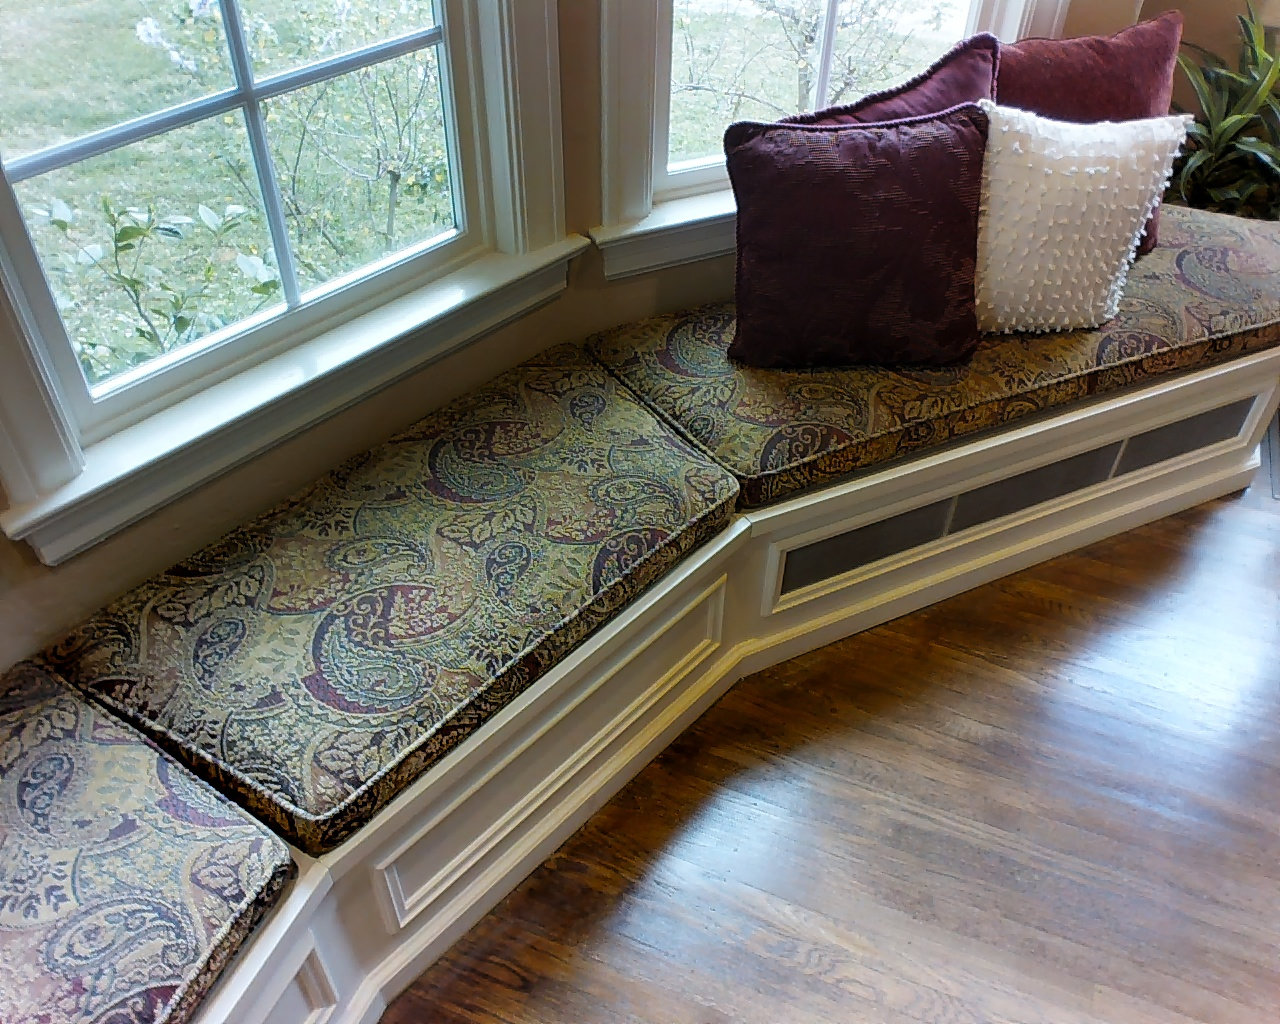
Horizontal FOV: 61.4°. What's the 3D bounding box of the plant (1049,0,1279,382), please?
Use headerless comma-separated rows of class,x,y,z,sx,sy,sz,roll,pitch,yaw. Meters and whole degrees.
plant,1.540,-0.820,2.680,0.680,0.650,0.640,24,47,24

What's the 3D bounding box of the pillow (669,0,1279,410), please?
pillow,0.610,-0.600,1.930,1.010,0.450,0.450,-15,45,-16
